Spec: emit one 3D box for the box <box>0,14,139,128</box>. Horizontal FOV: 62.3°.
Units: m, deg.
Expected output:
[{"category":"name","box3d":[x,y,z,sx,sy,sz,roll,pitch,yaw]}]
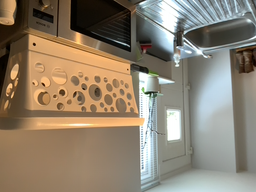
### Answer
[{"category":"box","box3d":[-0.300,-0.030,0.880,0.410,0.290,0.600,-5,173,39]}]
